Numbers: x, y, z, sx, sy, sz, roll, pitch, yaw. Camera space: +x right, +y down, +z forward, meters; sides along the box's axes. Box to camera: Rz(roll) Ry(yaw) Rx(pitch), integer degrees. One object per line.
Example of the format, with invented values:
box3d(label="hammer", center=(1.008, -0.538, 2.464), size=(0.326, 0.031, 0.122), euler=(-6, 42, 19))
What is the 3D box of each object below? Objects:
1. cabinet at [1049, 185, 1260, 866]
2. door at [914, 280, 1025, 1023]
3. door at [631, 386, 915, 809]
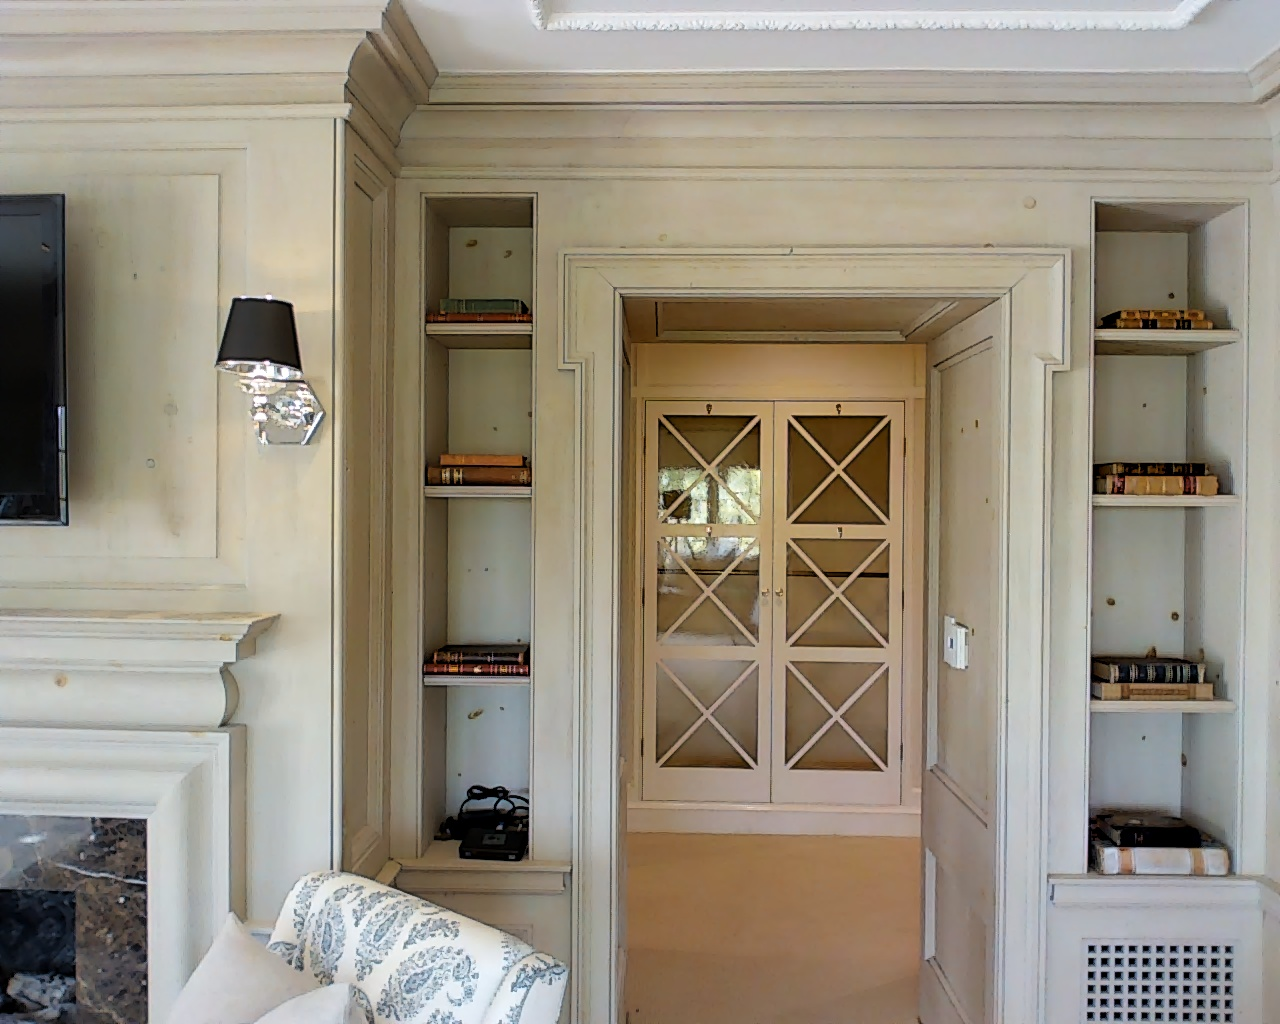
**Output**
box3d(label="cabinet", center=(1.230, 0.030, 2.610), size=(0.350, 1.550, 0.310), euler=(0, 0, 1))
box3d(label="door", center=(0.850, 0.500, 2.850), size=(0.060, 2.060, 0.800), euler=(0, 0, 2))
box3d(label="door", center=(0.620, 0.400, 5.090), size=(1.310, 1.970, 0.090), euler=(0, 0, 2))
